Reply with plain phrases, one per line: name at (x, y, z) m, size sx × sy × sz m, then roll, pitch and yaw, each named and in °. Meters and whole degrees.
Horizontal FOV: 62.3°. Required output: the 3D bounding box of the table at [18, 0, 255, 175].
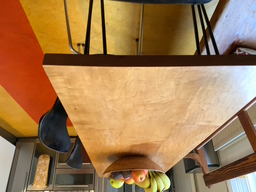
table at (0.030, -0.020, 1.330) m, size 0.570 × 0.760 × 1.640 m, roll -1°, pitch 152°, yaw -3°
